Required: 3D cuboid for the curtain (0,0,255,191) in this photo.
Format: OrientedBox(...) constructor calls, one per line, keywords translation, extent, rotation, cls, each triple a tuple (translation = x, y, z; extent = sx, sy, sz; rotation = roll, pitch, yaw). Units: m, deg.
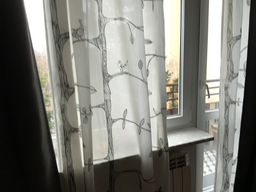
OrientedBox(translation=(0.250, -0.080, 1.360), extent=(1.770, 2.630, 0.250), rotation=(-6, 12, -24), cls="curtain")
